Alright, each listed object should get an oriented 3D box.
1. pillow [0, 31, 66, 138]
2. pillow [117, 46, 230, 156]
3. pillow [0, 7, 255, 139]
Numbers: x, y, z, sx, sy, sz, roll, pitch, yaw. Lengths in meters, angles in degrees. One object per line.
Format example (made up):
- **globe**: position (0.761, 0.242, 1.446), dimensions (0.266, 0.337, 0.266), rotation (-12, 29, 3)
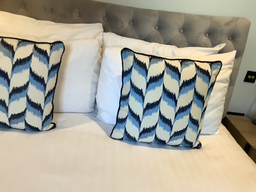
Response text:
- **pillow**: position (-0.500, -0.060, 0.880), dimensions (0.400, 0.380, 0.170), rotation (9, 6, -7)
- **pillow**: position (0.170, 0.020, 0.950), dimensions (0.380, 0.410, 0.180), rotation (8, 17, -4)
- **pillow**: position (-0.150, -0.130, 1.130), dimensions (1.360, 0.450, 0.340), rotation (7, 25, -5)
